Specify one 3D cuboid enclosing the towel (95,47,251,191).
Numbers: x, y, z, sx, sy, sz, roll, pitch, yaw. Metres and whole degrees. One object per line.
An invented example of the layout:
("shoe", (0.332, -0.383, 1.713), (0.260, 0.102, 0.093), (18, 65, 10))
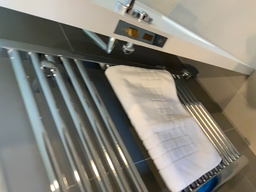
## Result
("towel", (0.180, 0.050, 0.730), (0.090, 0.480, 0.420), (-47, 61, 32))
